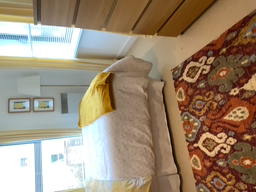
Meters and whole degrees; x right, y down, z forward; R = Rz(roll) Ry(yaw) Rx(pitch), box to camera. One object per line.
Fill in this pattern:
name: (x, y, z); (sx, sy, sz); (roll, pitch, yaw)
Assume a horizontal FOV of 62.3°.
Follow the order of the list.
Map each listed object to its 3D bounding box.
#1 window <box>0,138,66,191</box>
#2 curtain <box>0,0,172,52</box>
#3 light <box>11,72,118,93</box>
window: (-1.700, 1.200, 3.400); (0.120, 1.300, 0.900); (146, 120, -64)
curtain: (-0.790, -0.760, 2.000); (0.470, 2.470, 0.360); (147, 119, -64)
light: (-1.020, -0.230, 3.620); (0.290, 1.670, 0.260); (-135, 48, -59)
